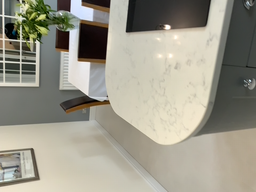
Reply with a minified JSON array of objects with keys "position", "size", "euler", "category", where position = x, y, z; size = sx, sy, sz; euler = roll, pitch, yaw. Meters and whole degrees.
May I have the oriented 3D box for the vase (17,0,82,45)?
[{"position":[-0.850,-0.850,2.290],"size":[0.400,0.600,0.480],"euler":[12,101,60],"category":"vase"}]
